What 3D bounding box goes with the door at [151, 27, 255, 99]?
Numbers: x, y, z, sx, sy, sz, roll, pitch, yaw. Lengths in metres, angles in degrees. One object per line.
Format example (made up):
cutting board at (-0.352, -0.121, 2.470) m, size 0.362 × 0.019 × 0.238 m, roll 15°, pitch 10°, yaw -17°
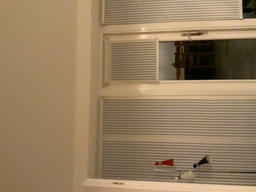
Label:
door at (1.090, -0.400, 2.550) m, size 0.060 × 1.600 × 0.870 m, roll 55°, pitch -144°, yaw -80°
